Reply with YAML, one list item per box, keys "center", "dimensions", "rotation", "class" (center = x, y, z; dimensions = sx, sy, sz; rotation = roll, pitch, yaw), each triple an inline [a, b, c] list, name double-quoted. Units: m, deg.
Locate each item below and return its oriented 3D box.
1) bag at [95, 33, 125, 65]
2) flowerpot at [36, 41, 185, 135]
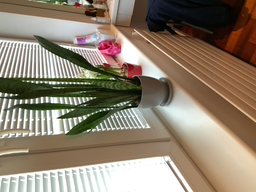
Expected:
- center: [-0.150, -0.380, 1.700]
  dimensions: [0.220, 0.160, 0.180]
  rotation: [-125, 42, -53]
  class: "bag"
- center: [-0.110, -0.050, 1.030]
  dimensions: [0.330, 0.620, 0.280]
  rotation: [-125, 41, -53]
  class: "flowerpot"
